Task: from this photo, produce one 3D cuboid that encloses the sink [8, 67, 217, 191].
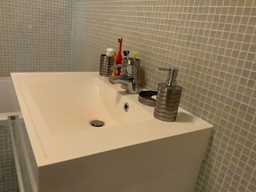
[{"bbox_3d":[-0.140,0.050,0.810,0.520,0.160,0.700,-4,22,-31],"label":"sink"}]
